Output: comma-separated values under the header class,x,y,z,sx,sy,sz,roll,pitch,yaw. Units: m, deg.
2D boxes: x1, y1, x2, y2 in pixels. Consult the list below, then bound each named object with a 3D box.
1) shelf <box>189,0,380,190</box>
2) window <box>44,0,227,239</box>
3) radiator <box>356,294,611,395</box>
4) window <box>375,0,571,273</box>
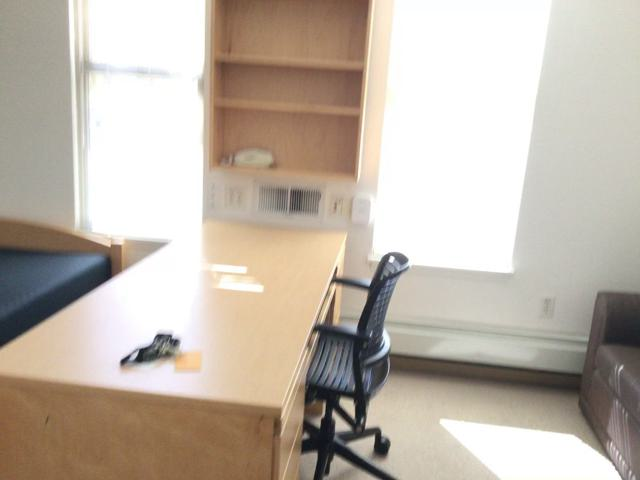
class,x,y,z,sx,sy,sz,roll,pitch,yaw
shelf,-0.150,-0.870,2.830,0.870,1.200,0.340,1,13,6
window,-0.960,-0.870,3.060,0.820,1.690,0.260,1,13,6
radiator,0.800,0.530,2.990,1.210,0.390,0.260,1,13,6
window,0.720,-0.640,2.880,0.850,1.570,0.270,1,13,6
